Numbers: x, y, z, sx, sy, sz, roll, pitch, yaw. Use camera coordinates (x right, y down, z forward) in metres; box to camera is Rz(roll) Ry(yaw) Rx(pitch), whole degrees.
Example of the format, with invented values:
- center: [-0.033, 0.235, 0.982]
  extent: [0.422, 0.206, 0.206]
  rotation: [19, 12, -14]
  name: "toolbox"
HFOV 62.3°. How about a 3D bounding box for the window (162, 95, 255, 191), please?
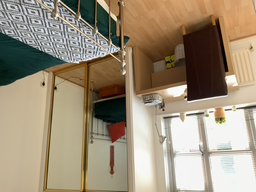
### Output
- center: [1.390, 0.690, 2.900]
  extent: [1.820, 1.280, 0.150]
  rotation: [-11, 161, 29]
  name: "window"
